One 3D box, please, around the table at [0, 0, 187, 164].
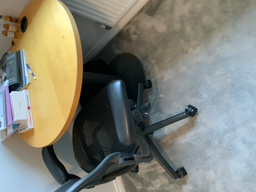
[{"bbox_3d":[-0.270,-0.140,1.410,0.800,0.710,0.800,-35,67,35],"label":"table"}]
